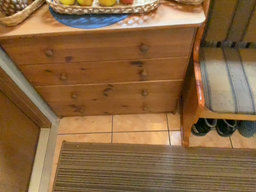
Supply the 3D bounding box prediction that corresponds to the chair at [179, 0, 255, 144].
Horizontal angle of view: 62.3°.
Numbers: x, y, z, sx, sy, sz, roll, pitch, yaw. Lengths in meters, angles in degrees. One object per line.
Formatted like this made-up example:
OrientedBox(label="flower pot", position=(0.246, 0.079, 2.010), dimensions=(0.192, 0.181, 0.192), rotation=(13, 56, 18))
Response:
OrientedBox(label="chair", position=(0.630, -0.150, 1.000), dimensions=(0.640, 0.830, 0.490), rotation=(3, 60, 6))
